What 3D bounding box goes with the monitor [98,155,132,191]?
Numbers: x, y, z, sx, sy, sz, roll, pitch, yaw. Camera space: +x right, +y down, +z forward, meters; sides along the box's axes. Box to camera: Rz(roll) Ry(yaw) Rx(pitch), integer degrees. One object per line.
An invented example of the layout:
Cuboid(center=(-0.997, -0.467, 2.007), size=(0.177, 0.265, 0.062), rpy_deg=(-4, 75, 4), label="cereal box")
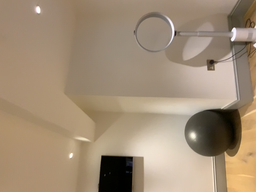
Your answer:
Cuboid(center=(-0.200, 1.390, 3.260), size=(0.060, 0.520, 0.910), rpy_deg=(81, -170, -74), label="monitor")
